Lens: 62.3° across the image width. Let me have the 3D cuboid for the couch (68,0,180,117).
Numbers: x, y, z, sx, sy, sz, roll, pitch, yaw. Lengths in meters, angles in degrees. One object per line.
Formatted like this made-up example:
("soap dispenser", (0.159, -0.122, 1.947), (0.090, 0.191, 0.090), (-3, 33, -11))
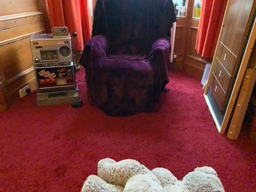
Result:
("couch", (0.010, -0.500, 2.170), (0.830, 1.010, 0.930), (4, 27, 6))
